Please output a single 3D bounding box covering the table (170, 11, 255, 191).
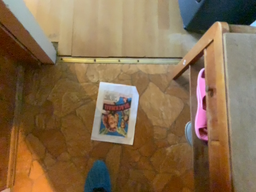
[{"bbox_3d":[0.430,0.170,0.790,0.410,0.540,0.700,2,80,-4],"label":"table"}]
